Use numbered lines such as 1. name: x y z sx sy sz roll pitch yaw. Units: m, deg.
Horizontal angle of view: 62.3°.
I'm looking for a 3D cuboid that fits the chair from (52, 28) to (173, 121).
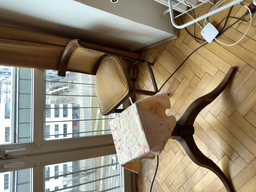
1. chair: -0.130 -0.130 1.760 0.460 0.780 0.490 -43 57 40
